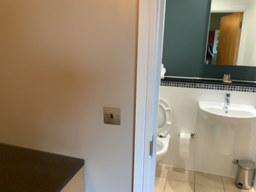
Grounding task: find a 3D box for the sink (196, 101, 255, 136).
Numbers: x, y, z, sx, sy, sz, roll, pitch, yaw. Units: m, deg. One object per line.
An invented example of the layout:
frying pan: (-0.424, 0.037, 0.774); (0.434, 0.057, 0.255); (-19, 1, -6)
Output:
sink: (0.990, 0.210, 2.120); (0.580, 0.170, 0.410); (6, 15, 16)
